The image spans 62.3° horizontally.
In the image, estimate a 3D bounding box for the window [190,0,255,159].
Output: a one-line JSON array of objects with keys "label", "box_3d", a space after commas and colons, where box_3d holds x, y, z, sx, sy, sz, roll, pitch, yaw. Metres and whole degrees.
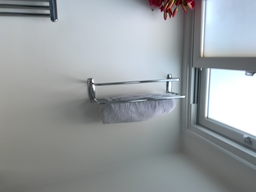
[{"label": "window", "box_3d": [0.630, -0.190, 1.060, 0.150, 0.940, 0.790, -4, -168, -19]}]
